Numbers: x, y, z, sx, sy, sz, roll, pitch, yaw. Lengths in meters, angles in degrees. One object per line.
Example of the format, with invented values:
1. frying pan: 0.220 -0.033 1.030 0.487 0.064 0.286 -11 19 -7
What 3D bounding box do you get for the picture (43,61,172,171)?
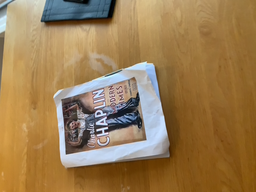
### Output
1. picture: -0.070 0.060 0.540 0.340 0.050 0.230 -8 77 27
